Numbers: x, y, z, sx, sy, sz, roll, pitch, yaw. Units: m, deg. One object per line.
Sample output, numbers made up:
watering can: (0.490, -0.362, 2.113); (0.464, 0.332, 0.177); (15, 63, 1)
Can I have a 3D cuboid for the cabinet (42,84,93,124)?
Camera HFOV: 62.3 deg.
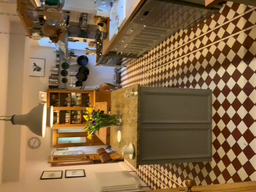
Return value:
cabinet: (-1.690, 0.230, 5.990); (0.350, 1.300, 1.070); (178, 94, -73)
